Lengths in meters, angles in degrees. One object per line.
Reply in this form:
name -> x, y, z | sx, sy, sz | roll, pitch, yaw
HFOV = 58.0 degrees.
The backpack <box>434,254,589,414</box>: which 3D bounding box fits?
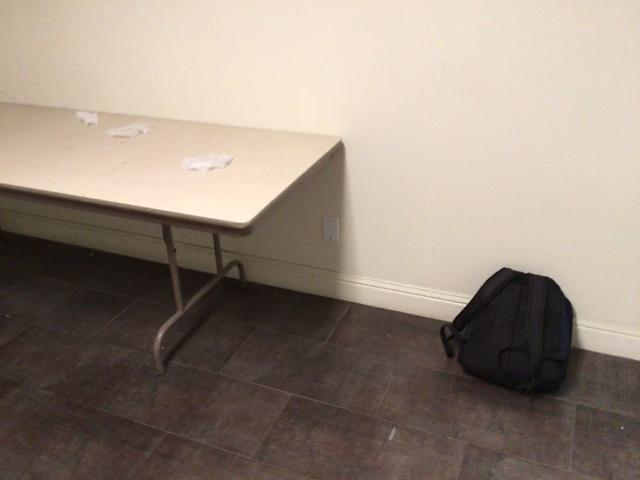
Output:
backpack -> 0.670, 0.310, 2.030 | 0.440, 0.330, 0.350 | 11, 29, 19
